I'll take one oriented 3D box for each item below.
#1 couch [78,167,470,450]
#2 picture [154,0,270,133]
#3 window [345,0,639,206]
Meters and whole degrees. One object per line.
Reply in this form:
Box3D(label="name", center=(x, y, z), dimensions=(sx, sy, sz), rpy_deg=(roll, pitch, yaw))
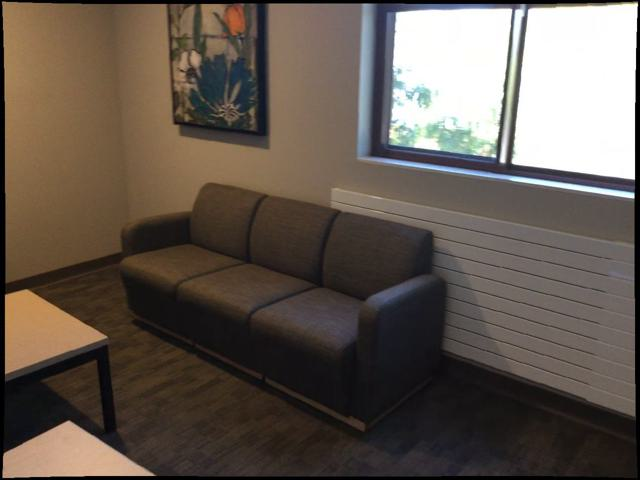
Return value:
Box3D(label="couch", center=(-0.300, 0.190, 3.080), dimensions=(1.869, 0.781, 0.860), rpy_deg=(14, 22, 32))
Box3D(label="picture", center=(-0.659, -1.101, 3.470), dimensions=(0.840, 0.811, 0.090), rpy_deg=(16, 27, 34))
Box3D(label="window", center=(0.889, -0.931, 2.610), dimensions=(1.529, 1.291, 0.390), rpy_deg=(14, 22, 32))
